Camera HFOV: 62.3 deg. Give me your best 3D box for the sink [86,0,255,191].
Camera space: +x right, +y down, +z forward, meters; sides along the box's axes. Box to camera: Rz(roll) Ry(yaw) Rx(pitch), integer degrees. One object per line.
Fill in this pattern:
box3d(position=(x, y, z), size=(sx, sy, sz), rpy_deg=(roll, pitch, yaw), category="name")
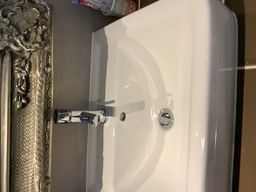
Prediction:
box3d(position=(0.070, 0.070, 0.580), size=(0.440, 0.160, 0.550), rpy_deg=(4, 91, 53), category="sink")
